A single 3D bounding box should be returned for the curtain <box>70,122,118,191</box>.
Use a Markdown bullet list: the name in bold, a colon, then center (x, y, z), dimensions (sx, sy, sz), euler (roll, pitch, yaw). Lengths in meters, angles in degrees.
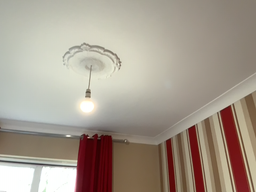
- **curtain**: center (-0.420, 1.280, 2.420), dimensions (0.500, 1.930, 0.220), euler (11, -30, -19)
